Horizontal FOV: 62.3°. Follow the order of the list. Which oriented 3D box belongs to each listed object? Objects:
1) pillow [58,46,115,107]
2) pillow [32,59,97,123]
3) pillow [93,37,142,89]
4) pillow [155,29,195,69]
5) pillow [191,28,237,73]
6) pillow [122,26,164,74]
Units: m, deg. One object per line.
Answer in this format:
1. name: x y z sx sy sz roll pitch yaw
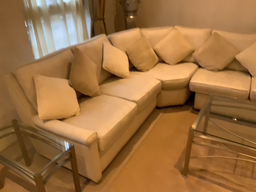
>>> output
1. pillow: -0.370 -0.190 2.020 0.140 0.390 0.450 -8 28 37
2. pillow: -0.510 -0.040 1.770 0.130 0.360 0.380 15 60 43
3. pillow: -0.110 -0.370 2.400 0.190 0.420 0.380 -8 33 47
4. pillow: 0.600 -0.610 2.770 0.340 0.360 0.190 -39 3 10
5. pillow: 1.060 -0.550 2.620 0.380 0.380 0.170 -28 22 42
6. pillow: 0.180 -0.580 2.660 0.430 0.480 0.220 -20 40 -34
